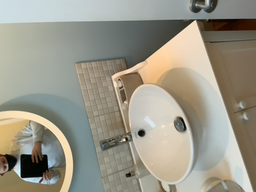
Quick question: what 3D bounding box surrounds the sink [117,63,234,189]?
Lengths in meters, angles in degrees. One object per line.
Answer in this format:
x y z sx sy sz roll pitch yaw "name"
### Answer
0.150 0.140 0.910 0.450 0.140 0.400 -31 72 60 "sink"
